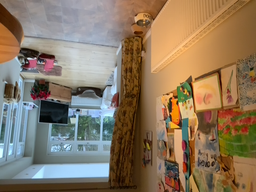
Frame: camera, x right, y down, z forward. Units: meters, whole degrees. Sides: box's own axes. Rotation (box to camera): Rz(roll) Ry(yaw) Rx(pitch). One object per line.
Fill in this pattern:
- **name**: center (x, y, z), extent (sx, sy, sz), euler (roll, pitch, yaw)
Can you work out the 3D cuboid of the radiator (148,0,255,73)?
- **radiator**: center (0.480, -0.720, 1.770), extent (0.120, 0.660, 1.520), euler (4, 169, -13)
